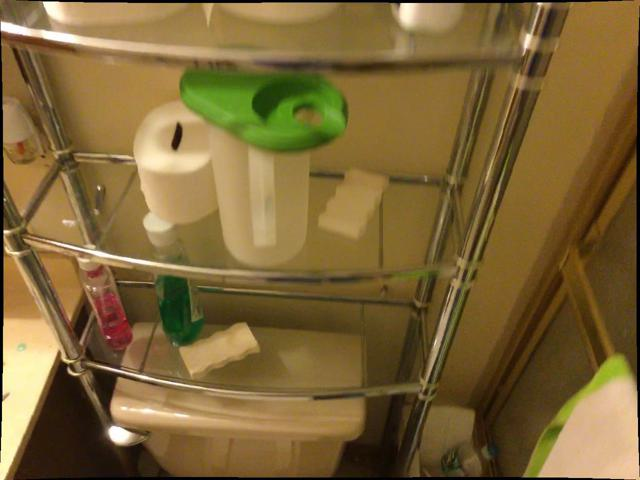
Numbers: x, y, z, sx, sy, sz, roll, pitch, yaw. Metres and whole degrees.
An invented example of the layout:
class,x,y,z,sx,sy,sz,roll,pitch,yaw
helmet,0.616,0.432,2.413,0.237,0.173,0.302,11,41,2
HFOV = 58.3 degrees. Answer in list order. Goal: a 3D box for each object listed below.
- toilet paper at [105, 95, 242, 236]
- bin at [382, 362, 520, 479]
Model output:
class,x,y,z,sx,sy,sz,roll,pitch,yaw
toilet paper,-0.200,-0.110,0.830,0.140,0.120,0.170,1,46,2
bin,0.290,0.591,1.390,0.230,0.500,0.360,1,46,2
